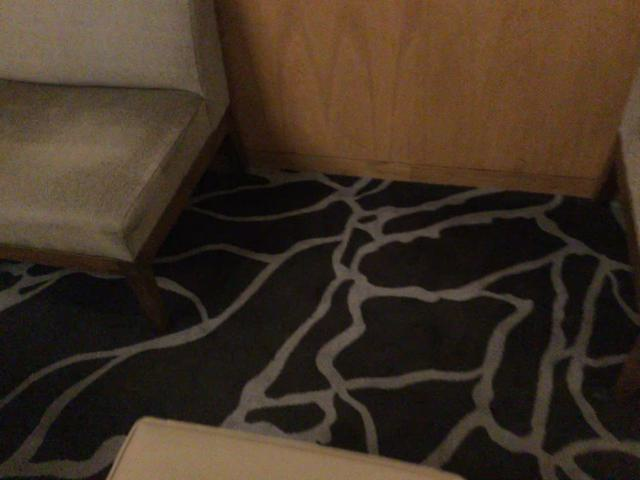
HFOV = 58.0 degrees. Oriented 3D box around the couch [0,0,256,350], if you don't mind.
[{"bbox_3d":[-1.030,-0.340,1.600,1.440,0.810,0.730,7,46,12],"label":"couch"}]
